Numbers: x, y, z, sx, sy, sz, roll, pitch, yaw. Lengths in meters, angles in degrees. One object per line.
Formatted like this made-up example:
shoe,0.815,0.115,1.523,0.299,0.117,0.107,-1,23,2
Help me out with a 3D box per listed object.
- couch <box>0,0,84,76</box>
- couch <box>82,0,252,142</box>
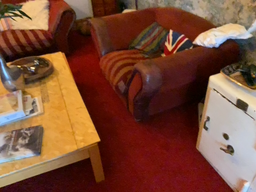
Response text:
couch,-2.000,-0.920,3.100,2.330,0.780,1.230,-17,39,-18
couch,0.260,-0.420,2.330,1.070,0.770,1.400,-17,39,-18
